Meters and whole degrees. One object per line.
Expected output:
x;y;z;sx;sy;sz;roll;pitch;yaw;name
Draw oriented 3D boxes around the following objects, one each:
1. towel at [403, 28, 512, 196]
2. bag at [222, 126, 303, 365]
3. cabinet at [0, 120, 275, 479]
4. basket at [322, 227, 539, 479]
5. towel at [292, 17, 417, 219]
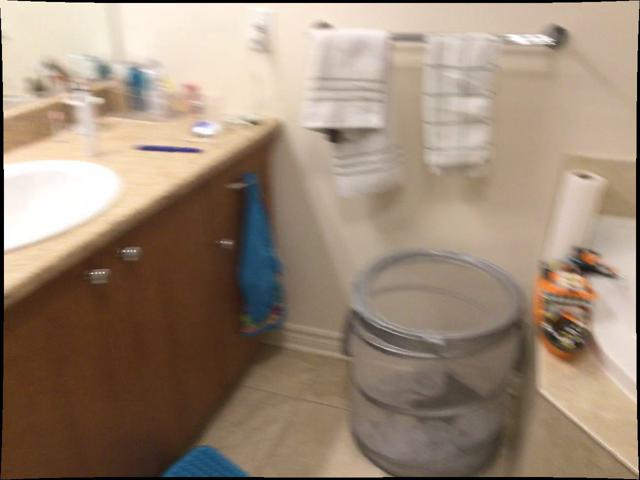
0.360;-0.340;1.530;0.220;0.390;0.150;10;29;16;towel
-0.160;0.020;1.790;0.120;0.670;0.300;10;29;16;bag
-0.679;0.330;1.280;0.640;0.771;1.430;10;29;16;cabinet
0.320;0.320;1.640;0.490;0.480;0.500;10;29;16;basket
0.090;-0.340;1.610;0.290;0.500;0.170;10;29;16;towel
